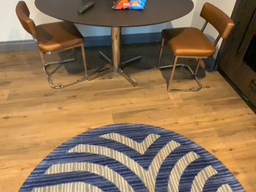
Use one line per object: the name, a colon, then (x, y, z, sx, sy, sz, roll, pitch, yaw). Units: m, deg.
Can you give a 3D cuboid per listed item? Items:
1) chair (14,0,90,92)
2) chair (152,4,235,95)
chair: (-0.690, -0.510, 2.000, 0.510, 0.720, 0.470, -12, 44, -18)
chair: (0.560, -0.440, 2.040, 0.450, 0.710, 0.460, -5, 43, -11)
